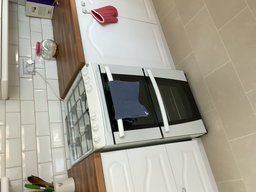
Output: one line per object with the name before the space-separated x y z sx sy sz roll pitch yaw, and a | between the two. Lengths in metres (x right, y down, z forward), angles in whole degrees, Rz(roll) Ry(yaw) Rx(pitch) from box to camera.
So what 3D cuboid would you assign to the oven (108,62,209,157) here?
oven | 0.210 0.140 1.820 0.630 0.450 0.570 -41 56 52
